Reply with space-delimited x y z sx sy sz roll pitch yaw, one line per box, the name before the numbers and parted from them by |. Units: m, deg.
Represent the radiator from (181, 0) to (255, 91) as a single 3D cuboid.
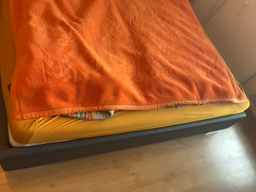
radiator | 0.950 -0.620 2.040 0.130 0.700 0.900 -8 63 -28
